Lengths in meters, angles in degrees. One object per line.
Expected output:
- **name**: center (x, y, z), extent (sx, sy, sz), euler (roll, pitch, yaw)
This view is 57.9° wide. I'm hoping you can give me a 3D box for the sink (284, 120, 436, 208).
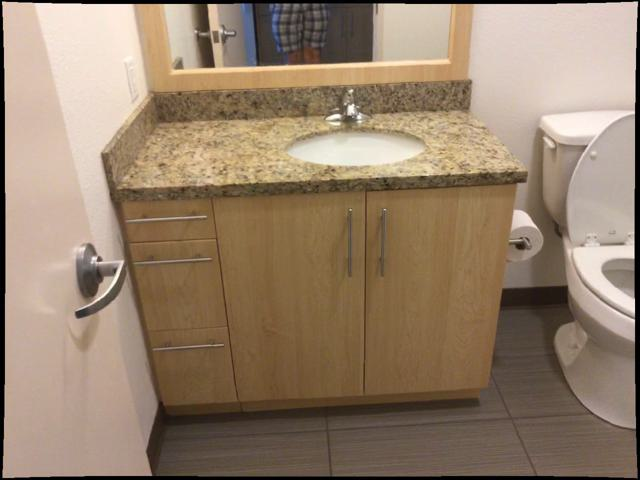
- **sink**: center (0.110, -0.240, 1.780), extent (0.430, 0.140, 0.270), euler (-5, 31, 0)
